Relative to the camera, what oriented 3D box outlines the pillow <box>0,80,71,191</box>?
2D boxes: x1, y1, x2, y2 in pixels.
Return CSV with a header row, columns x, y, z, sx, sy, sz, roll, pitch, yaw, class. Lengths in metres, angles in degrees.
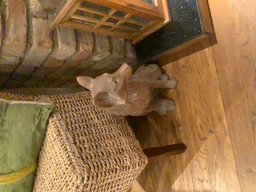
x,y,z,sx,sy,sz,roll,pitch,yaw,class
-0.470,0.230,0.720,0.180,0.320,0.560,45,117,34,pillow
